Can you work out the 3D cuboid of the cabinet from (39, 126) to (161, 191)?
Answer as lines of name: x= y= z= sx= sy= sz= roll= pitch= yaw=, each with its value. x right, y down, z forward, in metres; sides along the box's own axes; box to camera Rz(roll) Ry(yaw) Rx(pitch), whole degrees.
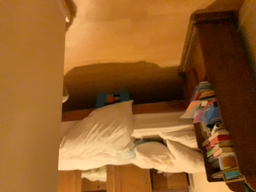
cabinet: x=-0.420 y=1.710 z=3.440 sx=1.890 sy=2.180 sz=0.520 roll=-6 pitch=156 yaw=3

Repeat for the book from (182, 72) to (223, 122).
book: x=0.410 y=0.020 z=1.210 sx=0.130 sy=0.160 sz=0.320 roll=-7 pitch=156 yaw=4
